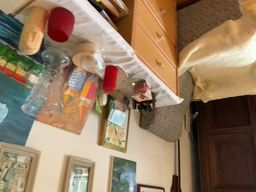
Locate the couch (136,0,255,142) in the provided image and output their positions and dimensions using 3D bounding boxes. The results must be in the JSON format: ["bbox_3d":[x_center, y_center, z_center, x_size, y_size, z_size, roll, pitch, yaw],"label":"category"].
[{"bbox_3d":[0.580,-0.210,1.660,0.790,0.970,0.620,-10,152,29],"label":"couch"}]
